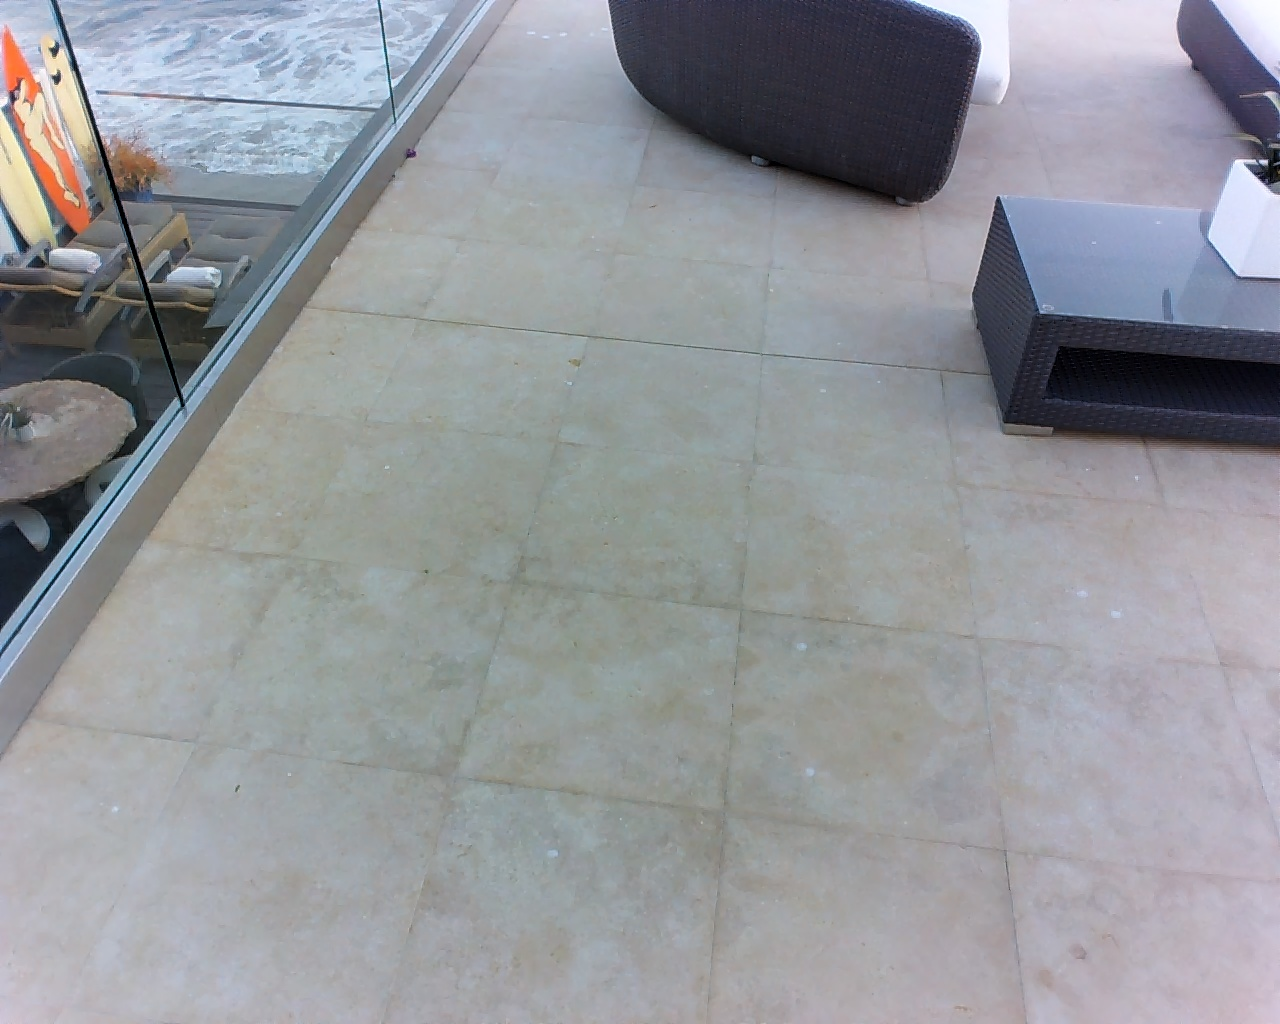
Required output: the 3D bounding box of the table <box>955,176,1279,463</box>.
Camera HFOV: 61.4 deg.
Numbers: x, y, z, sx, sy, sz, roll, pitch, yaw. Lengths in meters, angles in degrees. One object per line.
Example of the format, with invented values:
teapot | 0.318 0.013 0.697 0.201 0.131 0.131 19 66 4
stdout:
table | 1.540 -0.470 2.660 1.360 0.340 0.690 5 42 4
